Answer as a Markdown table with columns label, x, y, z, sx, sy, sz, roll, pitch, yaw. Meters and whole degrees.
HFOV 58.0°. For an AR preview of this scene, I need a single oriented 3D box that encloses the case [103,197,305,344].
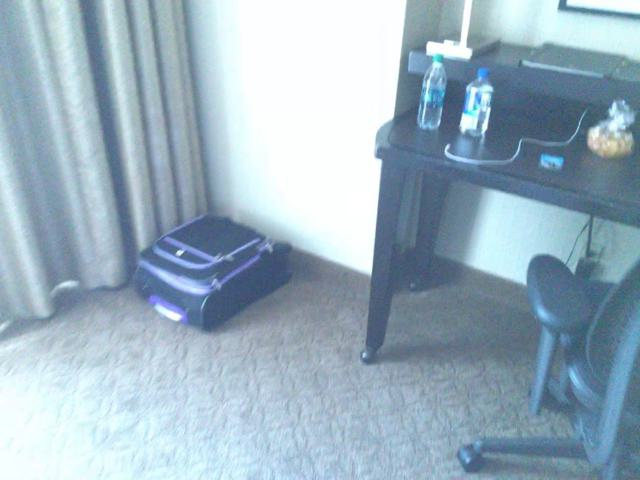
| label | x | y | z | sx | sy | sz | roll | pitch | yaw |
| --- | --- | --- | --- | --- | --- | --- | --- | --- | --- |
| case | -0.420 | 0.080 | 2.200 | 0.480 | 0.260 | 0.550 | 15 | 29 | 33 |

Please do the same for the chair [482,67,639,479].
| label | x | y | z | sx | sy | sz | roll | pitch | yaw |
| --- | --- | --- | --- | --- | --- | --- | --- | --- | --- |
| chair | 0.730 | 0.210 | 1.240 | 0.650 | 1.030 | 0.700 | 4 | 25 | 13 |

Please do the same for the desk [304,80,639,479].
| label | x | y | z | sx | sy | sz | roll | pitch | yaw |
| --- | --- | --- | --- | --- | --- | --- | --- | --- | --- |
| desk | 0.780 | 0.080 | 1.650 | 1.450 | 0.960 | 0.620 | 7 | 24 | 33 |
